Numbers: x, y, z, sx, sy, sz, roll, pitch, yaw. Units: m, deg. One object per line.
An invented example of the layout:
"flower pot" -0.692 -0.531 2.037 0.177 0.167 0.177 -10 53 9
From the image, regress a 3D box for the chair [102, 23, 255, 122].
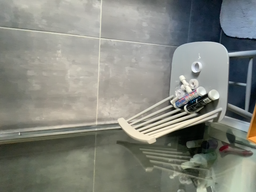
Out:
"chair" 0.340 -0.110 1.170 0.420 0.850 0.370 18 106 62
